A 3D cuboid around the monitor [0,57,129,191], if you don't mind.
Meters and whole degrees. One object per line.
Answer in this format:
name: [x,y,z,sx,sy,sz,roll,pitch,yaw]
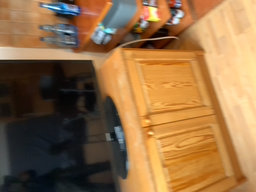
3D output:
monitor: [-0.370,0.280,1.220,0.080,0.650,1.070,-33,67,56]
